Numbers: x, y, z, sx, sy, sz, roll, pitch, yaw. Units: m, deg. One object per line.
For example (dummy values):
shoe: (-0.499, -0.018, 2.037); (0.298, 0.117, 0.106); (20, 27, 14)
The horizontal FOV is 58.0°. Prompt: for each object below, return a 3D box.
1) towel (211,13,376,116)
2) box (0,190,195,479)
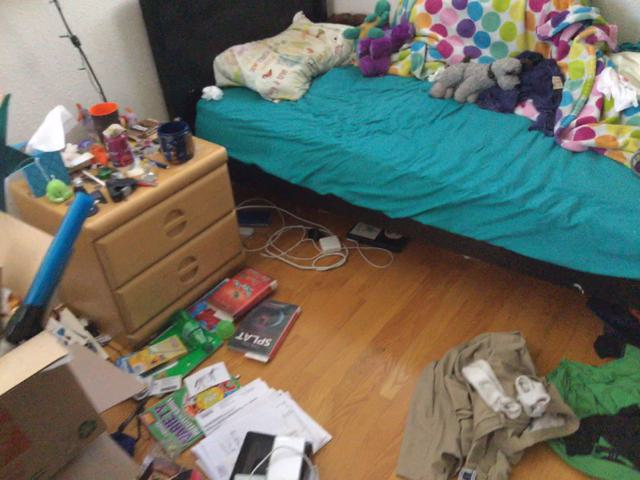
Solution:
towel: (-0.090, -0.760, 2.430); (0.340, 0.190, 0.640); (19, 44, 35)
box: (-0.770, 0.330, 1.240); (0.580, 0.550, 0.650); (19, 44, 35)
